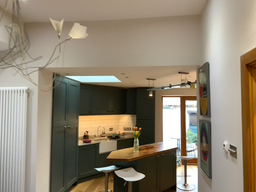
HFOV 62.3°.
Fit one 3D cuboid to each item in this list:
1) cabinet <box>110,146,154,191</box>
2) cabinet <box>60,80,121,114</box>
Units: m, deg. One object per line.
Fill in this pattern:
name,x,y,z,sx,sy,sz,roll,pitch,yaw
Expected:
cabinet,0.080,1.450,3.950,0.580,0.890,0.570,-2,-4,40
cabinet,-0.930,0.070,5.710,0.340,0.780,1.760,-2,-4,42
